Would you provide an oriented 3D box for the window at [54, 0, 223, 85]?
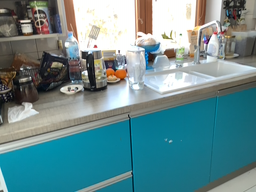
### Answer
[{"bbox_3d":[0.120,-1.100,1.680,1.420,1.790,0.350,-11,23,-21],"label":"window"}]
